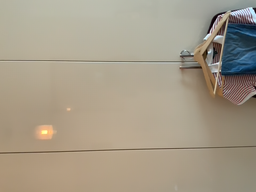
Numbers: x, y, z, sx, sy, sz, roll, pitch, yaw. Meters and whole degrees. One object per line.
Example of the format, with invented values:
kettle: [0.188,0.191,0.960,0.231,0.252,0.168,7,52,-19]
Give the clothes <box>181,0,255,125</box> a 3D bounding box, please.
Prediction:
clothes: [0.740,-0.190,1.090,0.220,0.870,0.620,-129,39,-82]
